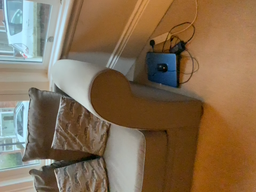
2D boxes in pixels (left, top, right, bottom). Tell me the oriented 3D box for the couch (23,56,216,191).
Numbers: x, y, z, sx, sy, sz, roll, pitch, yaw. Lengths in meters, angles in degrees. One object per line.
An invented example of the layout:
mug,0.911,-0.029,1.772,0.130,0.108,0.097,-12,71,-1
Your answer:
couch,-0.190,0.550,1.560,0.950,0.960,1.570,22,111,58
